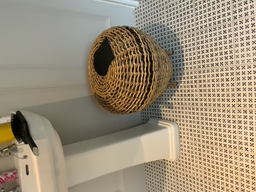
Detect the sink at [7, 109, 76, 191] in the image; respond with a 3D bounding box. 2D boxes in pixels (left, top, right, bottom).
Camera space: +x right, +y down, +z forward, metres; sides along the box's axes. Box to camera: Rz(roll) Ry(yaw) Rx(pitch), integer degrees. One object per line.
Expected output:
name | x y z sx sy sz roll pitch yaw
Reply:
sink | -0.380 0.340 0.910 0.450 0.130 0.530 1 97 52
